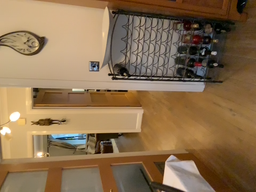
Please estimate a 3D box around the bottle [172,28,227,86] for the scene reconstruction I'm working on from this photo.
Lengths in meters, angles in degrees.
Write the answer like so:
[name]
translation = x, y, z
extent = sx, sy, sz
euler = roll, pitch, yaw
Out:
[bottle]
translation = 0.650, -0.360, 1.970
extent = 0.210, 0.360, 0.480
euler = -132, 45, -68
